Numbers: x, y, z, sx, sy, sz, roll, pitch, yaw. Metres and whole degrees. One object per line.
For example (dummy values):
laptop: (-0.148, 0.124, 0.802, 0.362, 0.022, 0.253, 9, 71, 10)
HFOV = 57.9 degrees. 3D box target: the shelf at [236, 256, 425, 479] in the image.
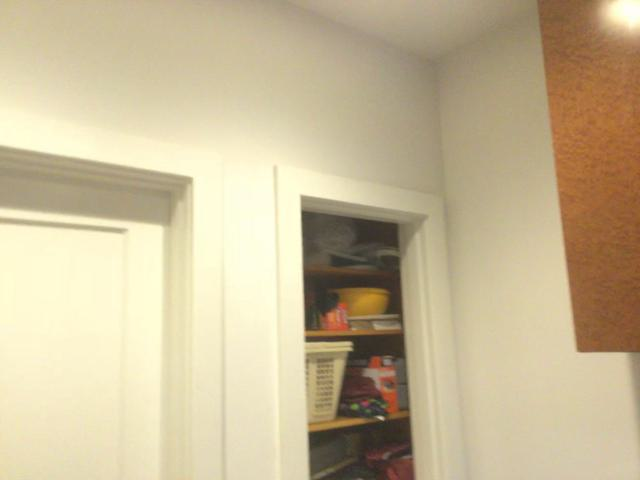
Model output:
shelf: (0.040, 0.570, 2.310, 0.600, 0.910, 0.420, 8, -14, -36)

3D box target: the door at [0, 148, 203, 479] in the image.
door: (-0.630, 0.770, 1.320, 0.680, 1.960, 0.080, 8, -14, -36)

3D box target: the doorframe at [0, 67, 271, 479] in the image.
doorframe: (-0.620, 0.670, 1.290, 1.080, 2.110, 0.150, 8, -14, -36)
